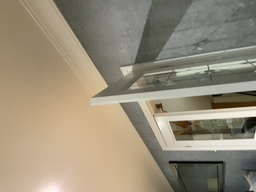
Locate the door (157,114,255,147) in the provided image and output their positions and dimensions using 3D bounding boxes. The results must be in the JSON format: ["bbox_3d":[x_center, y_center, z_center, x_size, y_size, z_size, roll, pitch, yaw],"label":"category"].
[{"bbox_3d":[1.350,0.390,2.330,0.660,1.960,0.040,62,-151,-48],"label":"door"}]
